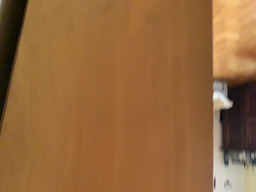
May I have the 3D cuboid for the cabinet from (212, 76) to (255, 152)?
[{"bbox_3d":[2.540,0.440,4.470,0.680,1.410,1.350,9,167,-20],"label":"cabinet"}]
